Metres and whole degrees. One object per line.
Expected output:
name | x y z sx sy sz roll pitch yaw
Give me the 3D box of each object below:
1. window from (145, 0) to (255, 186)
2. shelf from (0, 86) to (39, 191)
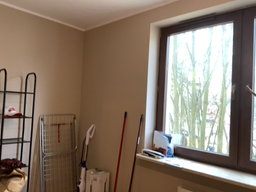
window | 0.850 -0.070 2.030 1.490 1.550 0.240 1 -2 45
shelf | -1.300 0.690 2.370 0.310 1.570 0.380 1 -2 41
